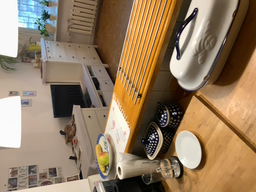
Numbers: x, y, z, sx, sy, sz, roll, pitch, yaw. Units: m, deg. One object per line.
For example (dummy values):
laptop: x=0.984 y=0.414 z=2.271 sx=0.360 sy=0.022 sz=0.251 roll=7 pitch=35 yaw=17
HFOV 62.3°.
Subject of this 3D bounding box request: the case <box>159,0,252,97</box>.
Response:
case: x=0.250 y=-0.190 z=0.730 sx=0.150 sy=0.130 sz=0.360 roll=-127 pitch=43 yaw=-51
